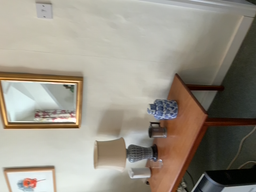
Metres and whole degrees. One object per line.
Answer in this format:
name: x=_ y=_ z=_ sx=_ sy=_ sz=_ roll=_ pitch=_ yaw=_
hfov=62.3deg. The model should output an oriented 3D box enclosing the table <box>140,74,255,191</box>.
table: x=0.490 y=0.430 z=1.760 sx=0.560 sy=0.450 sz=1.060 roll=-106 pitch=23 yaw=-51
